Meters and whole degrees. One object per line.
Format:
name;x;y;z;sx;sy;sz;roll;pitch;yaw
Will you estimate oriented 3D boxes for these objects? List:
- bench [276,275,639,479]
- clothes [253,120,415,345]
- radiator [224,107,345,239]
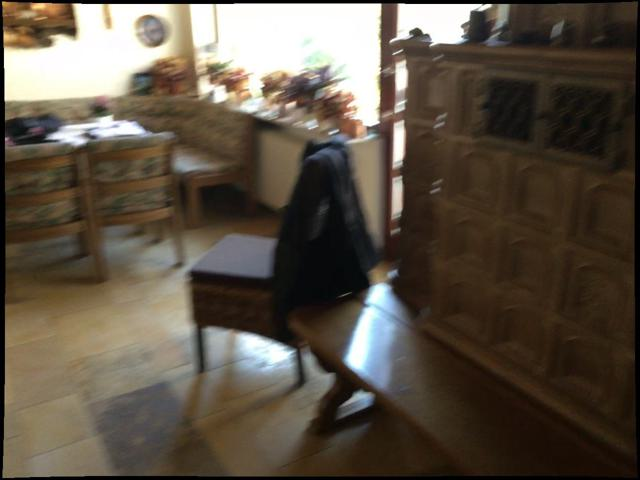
bench;0.390;0.601;1.920;0.490;0.450;1.230;-14;27;-33
clothes;0.030;-0.060;2.380;0.549;0.741;0.630;0;22;-2
radiator;-0.300;-0.541;4.280;0.250;0.681;1.220;-14;27;-33
